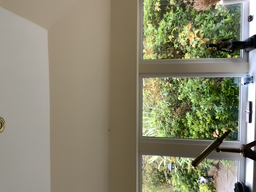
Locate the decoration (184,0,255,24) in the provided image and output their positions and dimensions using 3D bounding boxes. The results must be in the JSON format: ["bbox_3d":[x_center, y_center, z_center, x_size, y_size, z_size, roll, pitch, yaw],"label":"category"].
[{"bbox_3d":[1.040,-1.070,2.470,0.510,0.690,0.230,26,-114,-81],"label":"decoration"}]

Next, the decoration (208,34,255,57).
[{"bbox_3d":[1.220,-0.580,2.490,0.450,0.420,0.210,-39,-51,-79],"label":"decoration"}]
